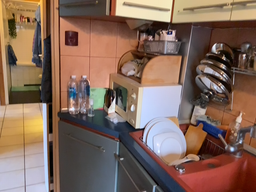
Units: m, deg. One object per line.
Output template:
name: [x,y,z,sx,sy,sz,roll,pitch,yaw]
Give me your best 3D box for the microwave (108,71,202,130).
microwave: [0.170,0.000,1.530,0.500,0.290,0.420,-3,16,-25]
